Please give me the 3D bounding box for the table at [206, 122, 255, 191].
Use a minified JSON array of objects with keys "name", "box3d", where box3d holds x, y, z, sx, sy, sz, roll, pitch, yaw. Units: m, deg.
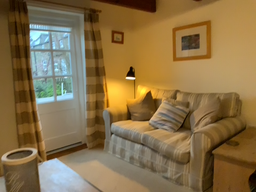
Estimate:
[{"name":"table","box3d":[1.200,0.650,2.140,1.010,0.510,0.370,-10,12,-44]}]
